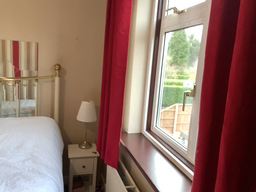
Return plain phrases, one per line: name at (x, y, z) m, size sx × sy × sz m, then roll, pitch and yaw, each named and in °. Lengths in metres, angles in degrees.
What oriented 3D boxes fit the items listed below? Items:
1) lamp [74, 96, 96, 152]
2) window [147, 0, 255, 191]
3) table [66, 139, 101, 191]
lamp at (-0.490, 0.300, 2.400) m, size 0.180 × 0.560 × 0.280 m, roll 1°, pitch 9°, yaw -20°
window at (0.420, -0.110, 1.270) m, size 0.080 × 1.550 × 1.050 m, roll 1°, pitch 9°, yaw -18°
table at (-0.530, 0.840, 2.450) m, size 0.330 × 0.540 × 0.440 m, roll 2°, pitch 10°, yaw -19°
